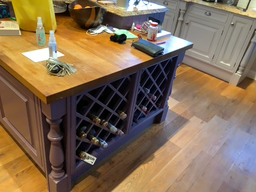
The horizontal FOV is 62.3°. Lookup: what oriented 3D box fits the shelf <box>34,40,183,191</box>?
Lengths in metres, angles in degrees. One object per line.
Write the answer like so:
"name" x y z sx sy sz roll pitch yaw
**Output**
"shelf" -0.070 0.060 1.550 0.240 0.720 1.090 32 39 30
